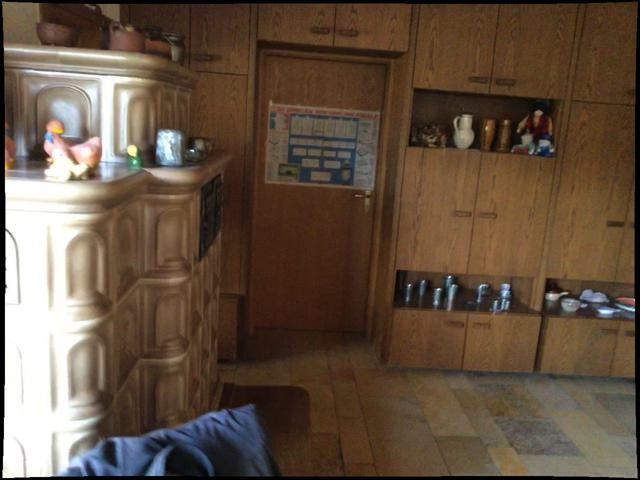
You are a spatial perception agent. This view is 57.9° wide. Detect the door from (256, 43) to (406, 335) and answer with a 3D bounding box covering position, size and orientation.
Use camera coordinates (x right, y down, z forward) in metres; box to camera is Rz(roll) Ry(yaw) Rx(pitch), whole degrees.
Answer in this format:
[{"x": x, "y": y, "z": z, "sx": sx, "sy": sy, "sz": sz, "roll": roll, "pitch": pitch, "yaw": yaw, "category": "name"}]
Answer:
[{"x": 0.050, "y": -0.300, "z": 4.080, "sx": 0.909, "sy": 2.002, "sz": 0.090, "roll": 3, "pitch": 13, "yaw": -4, "category": "door"}]
